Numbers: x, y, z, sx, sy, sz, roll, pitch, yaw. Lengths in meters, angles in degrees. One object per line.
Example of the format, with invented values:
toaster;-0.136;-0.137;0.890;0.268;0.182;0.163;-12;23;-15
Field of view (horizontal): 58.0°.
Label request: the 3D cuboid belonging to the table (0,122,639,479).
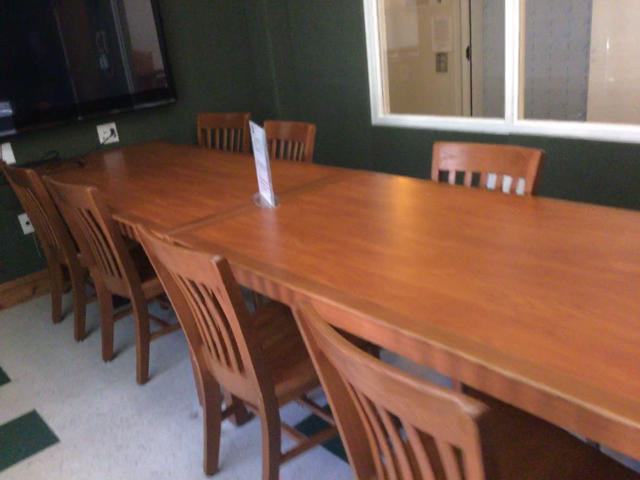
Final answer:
table;-0.110;0.160;2.220;1.110;0.830;3.590;-23;26;-34
